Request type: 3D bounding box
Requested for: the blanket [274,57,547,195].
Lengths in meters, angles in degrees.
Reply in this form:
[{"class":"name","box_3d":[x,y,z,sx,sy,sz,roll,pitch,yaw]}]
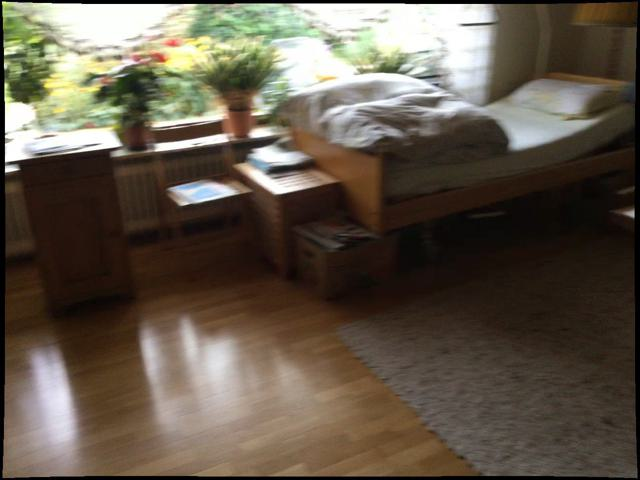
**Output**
[{"class":"blanket","box_3d":[0.440,-0.671,3.100,1.089,0.390,0.900,-14,29,-24]}]
